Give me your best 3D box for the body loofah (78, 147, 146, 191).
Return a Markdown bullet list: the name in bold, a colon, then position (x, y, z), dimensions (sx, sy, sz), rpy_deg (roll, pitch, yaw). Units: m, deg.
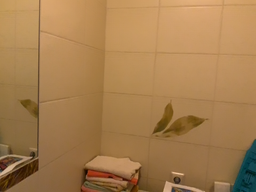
- **body loofah**: position (-0.080, 0.440, 1.200), dimensions (0.300, 0.170, 0.270), rpy_deg (6, 7, 15)
